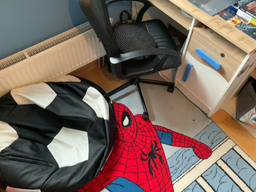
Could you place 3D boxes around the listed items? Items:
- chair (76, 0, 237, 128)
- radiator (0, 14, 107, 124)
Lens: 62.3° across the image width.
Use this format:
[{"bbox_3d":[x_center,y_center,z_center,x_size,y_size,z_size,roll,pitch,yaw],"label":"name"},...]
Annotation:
[{"bbox_3d":[0.070,-0.330,1.440,0.660,1.030,0.620,-7,57,-6],"label":"chair"},{"bbox_3d":[-0.700,-0.160,1.560,1.130,0.460,0.190,-30,62,-20],"label":"radiator"}]
